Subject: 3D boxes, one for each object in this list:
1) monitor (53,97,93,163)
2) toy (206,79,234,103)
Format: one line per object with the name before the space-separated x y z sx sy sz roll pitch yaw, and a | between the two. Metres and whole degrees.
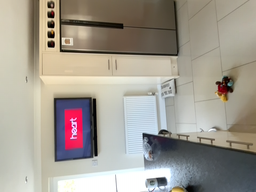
monitor | -0.880 0.530 3.390 0.040 0.600 1.000 162 106 -73
toy | 1.040 -0.050 2.420 0.350 0.060 0.200 138 129 -70
